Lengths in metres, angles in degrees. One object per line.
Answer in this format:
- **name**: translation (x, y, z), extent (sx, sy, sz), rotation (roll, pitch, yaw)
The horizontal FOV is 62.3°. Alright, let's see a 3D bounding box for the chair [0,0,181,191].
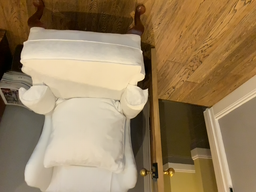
- **chair**: translation (-0.210, 0.050, 1.360), extent (0.690, 1.030, 1.040), rotation (2, 150, -3)
